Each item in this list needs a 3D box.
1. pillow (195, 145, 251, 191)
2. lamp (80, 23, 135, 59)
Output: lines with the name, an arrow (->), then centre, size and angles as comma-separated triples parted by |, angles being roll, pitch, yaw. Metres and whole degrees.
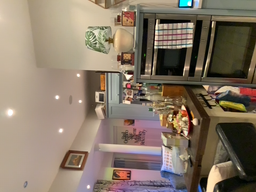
pillow -> 0.560, 0.560, 1.330 | 0.310, 0.150, 0.400 | -14, -51, -47
lamp -> -0.200, -0.600, 2.270 | 0.330, 0.530, 0.330 | -80, -7, -71
